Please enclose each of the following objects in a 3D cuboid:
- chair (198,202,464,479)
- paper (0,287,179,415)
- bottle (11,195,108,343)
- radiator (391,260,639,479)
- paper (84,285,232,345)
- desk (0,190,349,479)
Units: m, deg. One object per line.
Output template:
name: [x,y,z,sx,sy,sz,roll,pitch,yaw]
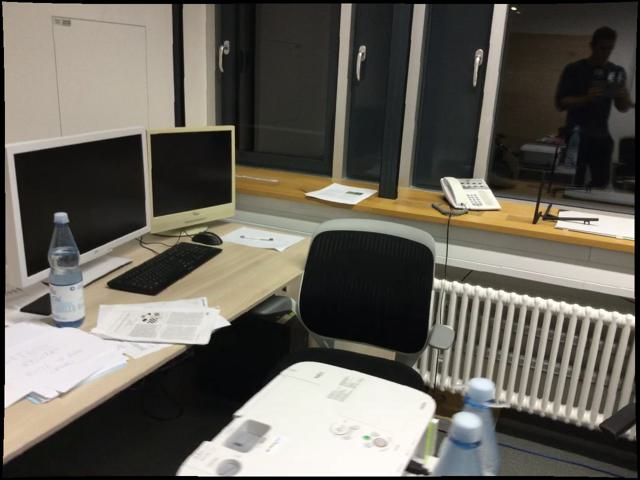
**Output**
chair: [0.080,0.420,1.900,0.659,0.901,0.670,6,20,14]
paper: [-0.639,0.250,1.450,0.430,0.040,0.370,16,24,37]
bottle: [-0.649,0.070,1.460,0.120,0.330,0.140,9,21,23]
radiator: [0.779,0.470,2.250,0.939,0.601,0.240,9,21,23]
paper: [-0.430,0.200,1.610,0.330,0.020,0.330,0,19,-2]
desk: [-0.839,0.531,1.780,1.109,0.821,2.070,9,21,24]
